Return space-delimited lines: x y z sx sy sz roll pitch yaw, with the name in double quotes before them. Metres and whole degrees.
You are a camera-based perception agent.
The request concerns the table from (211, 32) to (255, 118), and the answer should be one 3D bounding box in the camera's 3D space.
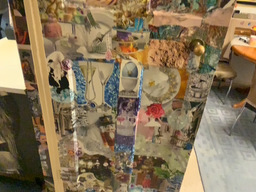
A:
"table" 1.820 -0.280 2.820 1.030 0.780 0.960 8 31 6
